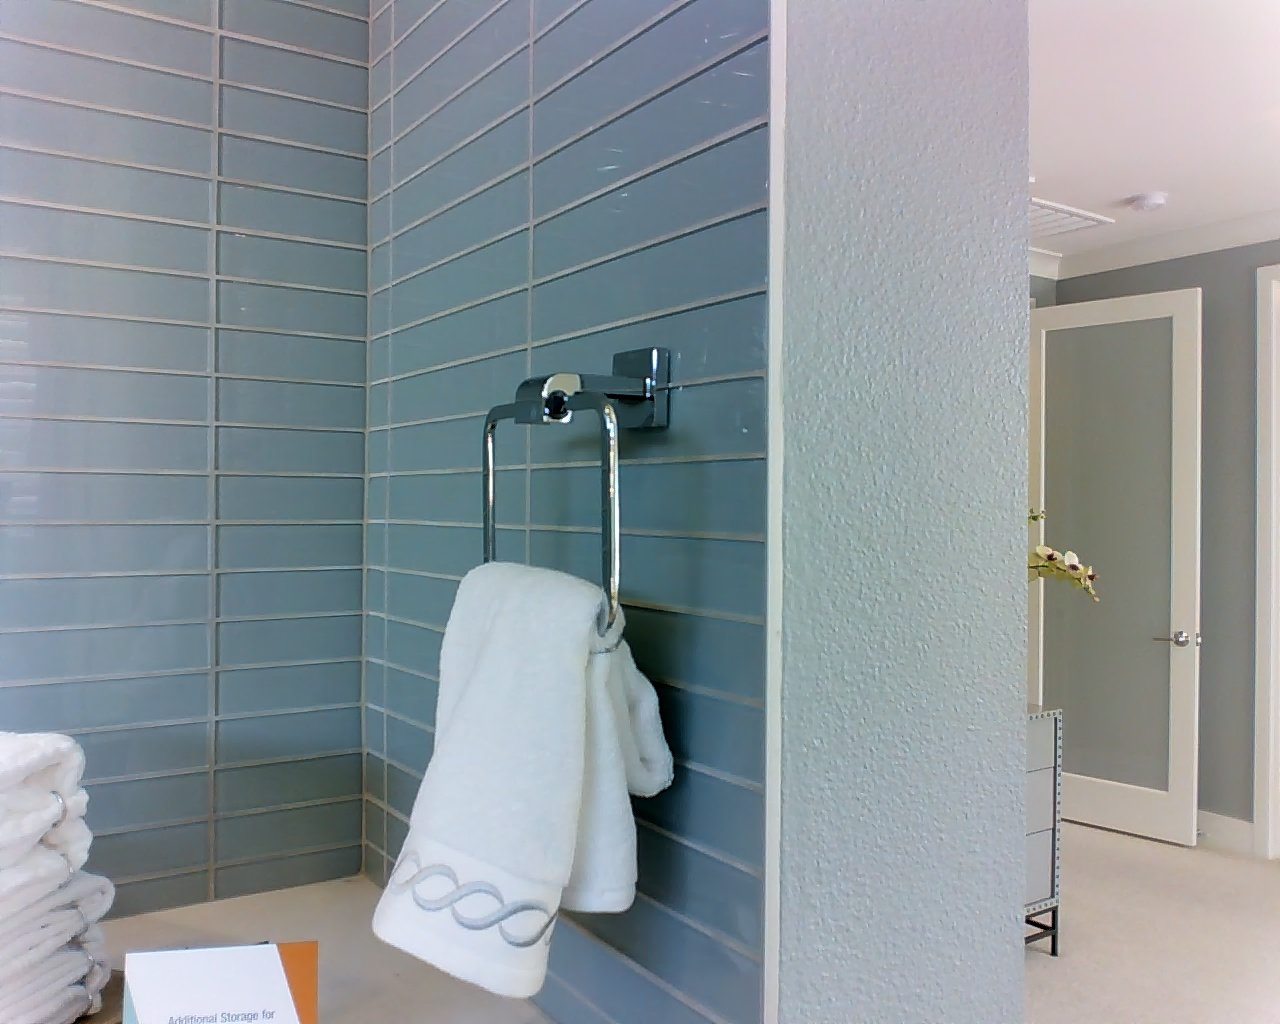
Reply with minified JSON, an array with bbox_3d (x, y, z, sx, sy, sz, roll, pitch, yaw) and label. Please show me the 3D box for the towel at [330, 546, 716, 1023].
[{"bbox_3d":[-0.080,0.160,0.690,0.180,0.270,0.180,1,0,-33],"label":"towel"}]
